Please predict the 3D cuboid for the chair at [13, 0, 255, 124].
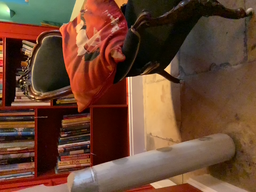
[{"bbox_3d":[-0.060,-0.380,1.240,0.900,0.980,0.670,116,146,-48],"label":"chair"}]
